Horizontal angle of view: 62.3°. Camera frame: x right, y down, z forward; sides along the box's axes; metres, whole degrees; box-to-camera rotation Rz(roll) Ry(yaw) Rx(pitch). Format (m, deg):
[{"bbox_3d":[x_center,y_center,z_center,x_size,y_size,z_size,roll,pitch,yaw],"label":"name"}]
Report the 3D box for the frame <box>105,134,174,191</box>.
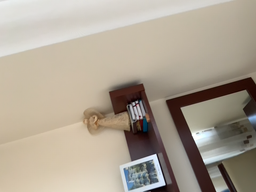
[{"bbox_3d":[0.050,0.320,0.950,0.150,0.240,0.200,78,175,-58],"label":"frame"}]
